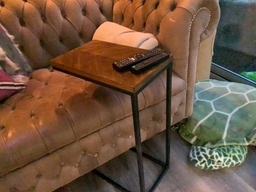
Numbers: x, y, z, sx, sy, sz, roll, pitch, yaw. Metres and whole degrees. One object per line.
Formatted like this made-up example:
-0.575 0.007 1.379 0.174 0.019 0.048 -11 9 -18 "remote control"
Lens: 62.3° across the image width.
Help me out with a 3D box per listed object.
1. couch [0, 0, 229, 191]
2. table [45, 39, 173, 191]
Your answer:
-0.440 -0.080 1.140 1.610 0.870 0.900 -23 38 -23 "couch"
-0.050 0.120 0.990 0.420 0.650 0.260 18 41 31 "table"
